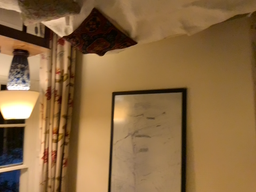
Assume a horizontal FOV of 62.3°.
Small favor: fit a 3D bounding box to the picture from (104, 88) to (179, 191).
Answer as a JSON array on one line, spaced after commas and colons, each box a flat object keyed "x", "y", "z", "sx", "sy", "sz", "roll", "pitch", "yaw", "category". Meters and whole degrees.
[{"x": 0.080, "y": 0.480, "z": 1.780, "sx": 0.720, "sy": 1.050, "sz": 0.060, "roll": -3, "pitch": 175, "yaw": 38, "category": "picture"}]

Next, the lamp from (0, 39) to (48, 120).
[{"x": -0.950, "y": -0.110, "z": 1.820, "sx": 0.310, "sy": 0.610, "sz": 0.360, "roll": -3, "pitch": 175, "yaw": 38, "category": "lamp"}]

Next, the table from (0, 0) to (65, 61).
[{"x": -1.020, "y": -0.740, "z": 1.870, "sx": 0.640, "sy": 0.650, "sz": 0.640, "roll": -3, "pitch": 175, "yaw": 39, "category": "table"}]
